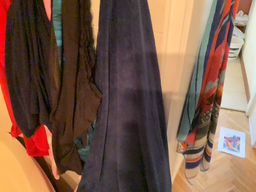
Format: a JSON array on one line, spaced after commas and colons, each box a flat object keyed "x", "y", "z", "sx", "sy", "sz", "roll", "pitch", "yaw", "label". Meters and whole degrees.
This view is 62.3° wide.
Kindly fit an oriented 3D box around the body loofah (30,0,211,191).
[{"x": 0.030, "y": 0.220, "z": 0.660, "sx": 0.220, "sy": 0.970, "sz": 0.310, "roll": 12, "pitch": 39, "yaw": 16, "label": "body loofah"}]
